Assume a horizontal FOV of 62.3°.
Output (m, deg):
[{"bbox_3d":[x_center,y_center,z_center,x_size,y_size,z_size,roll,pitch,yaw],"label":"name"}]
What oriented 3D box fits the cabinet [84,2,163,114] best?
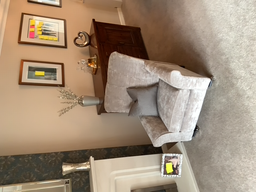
[{"bbox_3d":[-0.180,-0.700,3.640,0.570,0.900,1.950,118,146,-51],"label":"cabinet"}]
